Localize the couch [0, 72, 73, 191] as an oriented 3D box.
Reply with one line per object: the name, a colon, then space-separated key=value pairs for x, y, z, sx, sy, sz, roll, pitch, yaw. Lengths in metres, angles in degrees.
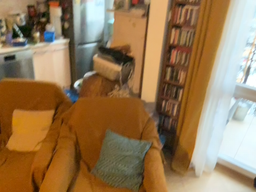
couch: x=-0.970 y=0.340 z=1.840 sx=0.770 sy=0.790 sz=0.960 roll=2 pitch=27 yaw=-5

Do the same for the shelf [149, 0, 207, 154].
shelf: x=0.460 y=-0.250 z=2.040 sx=0.260 sy=1.850 sz=0.160 roll=22 pitch=31 yaw=31

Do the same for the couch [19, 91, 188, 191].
couch: x=-0.160 y=0.520 z=1.600 sx=0.810 sy=0.780 sz=0.900 roll=2 pitch=27 yaw=-5

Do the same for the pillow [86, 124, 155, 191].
pillow: x=-0.070 y=0.480 z=1.630 sx=0.360 sy=0.410 sz=0.140 roll=51 pitch=37 yaw=4

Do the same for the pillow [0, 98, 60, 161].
pillow: x=-0.880 y=0.290 z=1.870 sx=0.390 sy=0.380 sz=0.120 roll=-36 pitch=-1 yaw=9
